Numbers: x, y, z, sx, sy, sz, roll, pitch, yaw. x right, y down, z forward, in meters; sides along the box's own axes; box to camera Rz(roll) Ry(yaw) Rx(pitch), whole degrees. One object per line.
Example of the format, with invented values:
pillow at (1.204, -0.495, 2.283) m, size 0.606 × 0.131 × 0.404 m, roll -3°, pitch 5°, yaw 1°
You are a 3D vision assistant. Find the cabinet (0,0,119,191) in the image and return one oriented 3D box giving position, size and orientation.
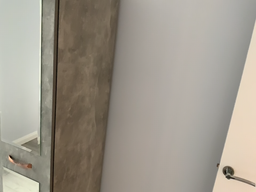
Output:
cabinet at (-0.610, 0.220, 1.320) m, size 0.770 × 1.850 × 0.560 m, roll 12°, pitch 15°, yaw 20°
